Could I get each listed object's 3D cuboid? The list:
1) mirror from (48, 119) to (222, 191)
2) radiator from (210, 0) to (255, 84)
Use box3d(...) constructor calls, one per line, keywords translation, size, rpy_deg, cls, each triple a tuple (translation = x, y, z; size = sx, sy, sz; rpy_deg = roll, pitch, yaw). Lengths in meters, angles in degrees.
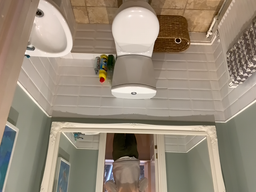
box3d(translation=(0.060, 0.710, 1.620), size=(1.320, 1.070, 0.030), rpy_deg=(1, 156, -1), cls="mirror")
box3d(translation=(0.770, -0.500, 1.440), size=(0.090, 0.620, 0.630), rpy_deg=(1, 156, -1), cls="radiator")
